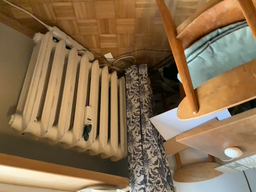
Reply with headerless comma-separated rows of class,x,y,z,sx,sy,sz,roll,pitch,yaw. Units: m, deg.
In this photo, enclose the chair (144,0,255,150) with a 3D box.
chair,0.360,-0.230,0.870,0.390,0.740,0.390,24,140,-35
